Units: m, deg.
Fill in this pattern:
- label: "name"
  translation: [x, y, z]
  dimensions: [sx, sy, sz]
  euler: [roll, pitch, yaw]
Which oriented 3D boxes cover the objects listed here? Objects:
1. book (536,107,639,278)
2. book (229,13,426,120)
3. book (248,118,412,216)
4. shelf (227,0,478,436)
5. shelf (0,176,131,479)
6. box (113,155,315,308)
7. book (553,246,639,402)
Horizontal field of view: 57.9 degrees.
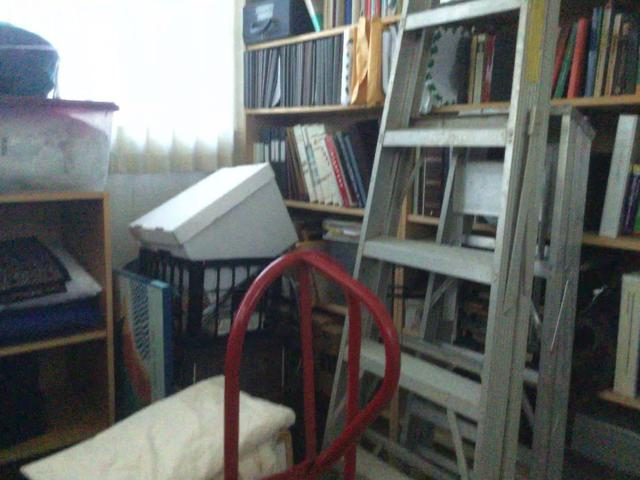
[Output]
- label: "book"
  translation: [0.800, -0.120, 1.410]
  dimensions: [0.280, 0.380, 0.400]
  euler: [-7, 11, -41]
- label: "book"
  translation: [-0.020, -0.600, 2.120]
  dimensions: [0.170, 0.280, 0.870]
  euler: [-7, 11, -41]
- label: "book"
  translation: [0.010, -0.290, 2.220]
  dimensions: [0.230, 0.320, 0.670]
  euler: [-7, 11, -41]
- label: "shelf"
  translation: [0.060, -0.400, 2.150]
  dimensions: [0.350, 1.920, 0.930]
  euler: [-7, 11, -41]
- label: "shelf"
  translation: [-1.110, 0.390, 1.660]
  dimensions: [0.930, 1.110, 0.510]
  euler: [-7, 11, -41]
- label: "box"
  translation: [-0.360, -0.030, 1.920]
  dimensions: [0.440, 0.340, 0.440]
  euler: [-7, -15, -41]
- label: "book"
  translation: [0.810, 0.200, 1.450]
  dimensions: [0.290, 0.310, 0.300]
  euler: [-7, 11, -41]
